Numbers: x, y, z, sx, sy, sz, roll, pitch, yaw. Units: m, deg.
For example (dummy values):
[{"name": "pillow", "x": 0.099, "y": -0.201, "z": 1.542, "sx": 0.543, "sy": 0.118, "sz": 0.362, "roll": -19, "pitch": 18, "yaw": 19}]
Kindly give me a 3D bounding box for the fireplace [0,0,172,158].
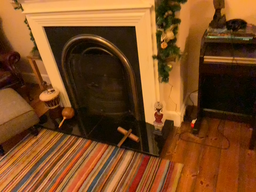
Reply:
[{"name": "fireplace", "x": -0.370, "y": -0.210, "z": 1.800, "sx": 1.360, "sy": 1.230, "sz": 0.440, "roll": 7, "pitch": 37, "yaw": 24}]
